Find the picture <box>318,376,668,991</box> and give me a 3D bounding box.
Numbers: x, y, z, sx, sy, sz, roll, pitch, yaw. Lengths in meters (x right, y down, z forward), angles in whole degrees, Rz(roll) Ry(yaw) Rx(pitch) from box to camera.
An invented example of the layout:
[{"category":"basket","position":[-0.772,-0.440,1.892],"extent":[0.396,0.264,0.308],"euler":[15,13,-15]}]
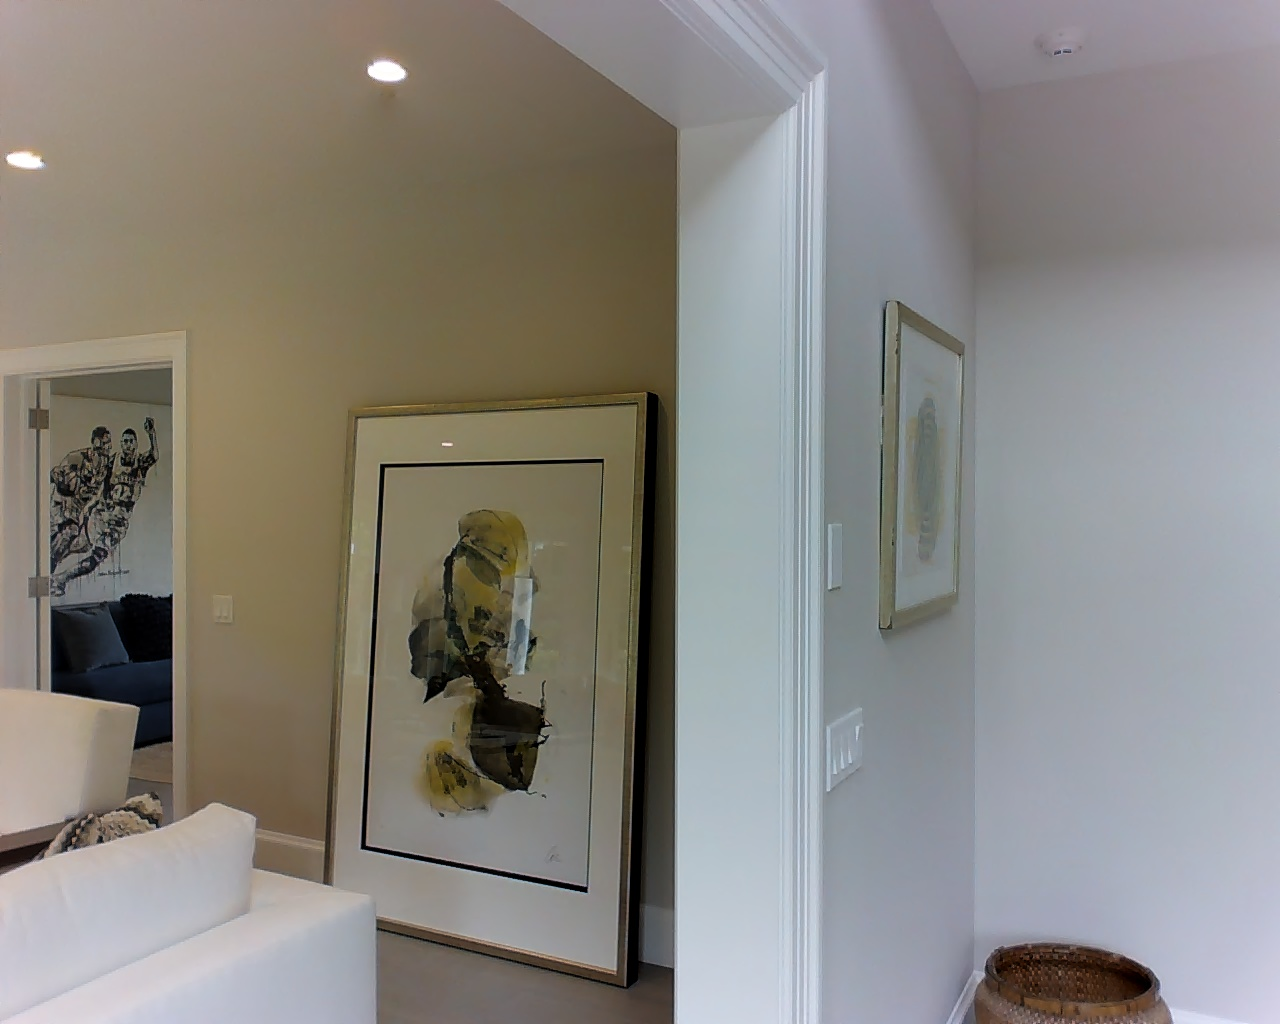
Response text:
[{"category":"picture","position":[-0.560,0.540,3.820],"extent":[1.360,1.950,0.210],"euler":[1,1,28]}]
